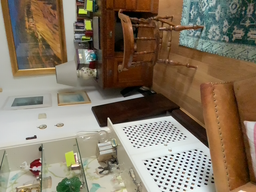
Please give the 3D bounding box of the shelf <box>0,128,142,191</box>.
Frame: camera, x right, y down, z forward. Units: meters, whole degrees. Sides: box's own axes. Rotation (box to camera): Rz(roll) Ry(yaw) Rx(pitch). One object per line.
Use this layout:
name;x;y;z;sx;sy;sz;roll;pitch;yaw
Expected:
shelf;-0.620;0.700;1.500;1.100;1.270;0.290;-135;44;-61

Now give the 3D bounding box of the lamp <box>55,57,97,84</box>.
lamp;-0.750;-0.380;3.080;0.260;0.560;0.300;-132;41;-59
